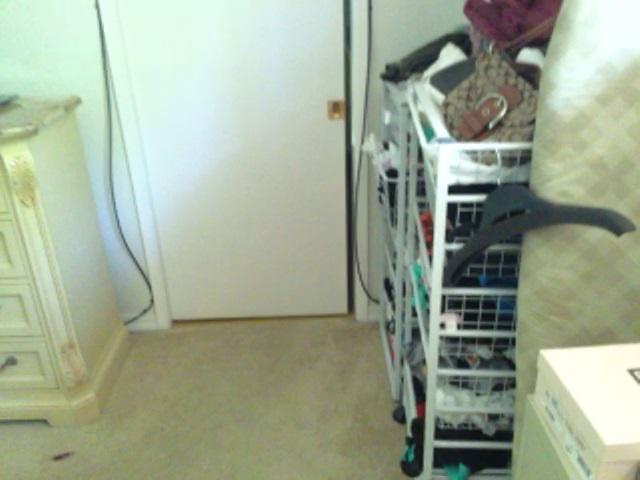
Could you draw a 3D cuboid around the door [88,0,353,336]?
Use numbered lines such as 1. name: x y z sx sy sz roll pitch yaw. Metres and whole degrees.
1. door: -0.320 -0.450 2.140 0.870 1.750 0.200 0 24 2
